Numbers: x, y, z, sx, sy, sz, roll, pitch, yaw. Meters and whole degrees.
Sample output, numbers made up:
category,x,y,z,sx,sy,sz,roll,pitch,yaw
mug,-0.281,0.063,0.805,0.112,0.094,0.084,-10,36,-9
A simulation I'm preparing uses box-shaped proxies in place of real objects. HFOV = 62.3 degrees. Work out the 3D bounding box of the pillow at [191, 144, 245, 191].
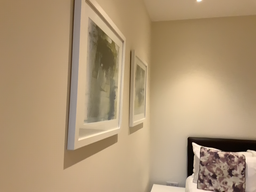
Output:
category,x,y,z,sx,sy,sz,roll,pitch,yaw
pillow,0.890,0.720,2.130,0.410,0.350,0.130,15,1,15
